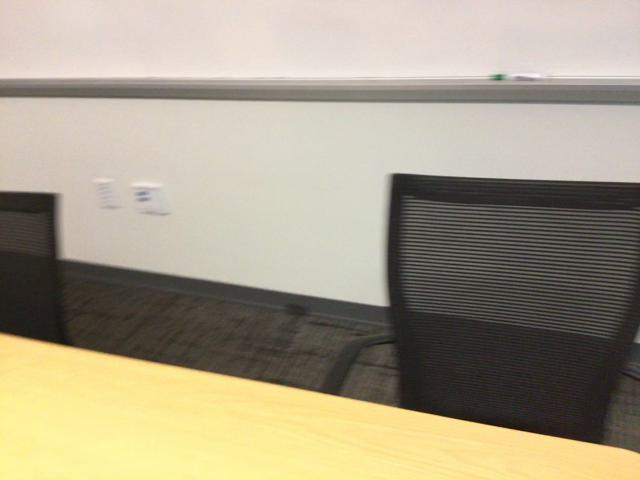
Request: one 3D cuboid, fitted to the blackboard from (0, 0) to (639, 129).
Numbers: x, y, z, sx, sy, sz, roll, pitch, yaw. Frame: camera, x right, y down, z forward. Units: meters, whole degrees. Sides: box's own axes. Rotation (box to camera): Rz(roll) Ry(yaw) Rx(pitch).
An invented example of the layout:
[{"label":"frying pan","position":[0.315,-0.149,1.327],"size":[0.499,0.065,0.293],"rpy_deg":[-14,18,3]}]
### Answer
[{"label":"blackboard","position":[-0.400,-0.620,1.780],"size":[3.580,0.430,0.130],"rpy_deg":[7,31,23]}]
